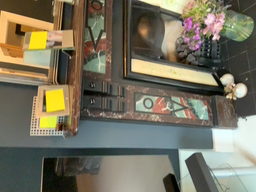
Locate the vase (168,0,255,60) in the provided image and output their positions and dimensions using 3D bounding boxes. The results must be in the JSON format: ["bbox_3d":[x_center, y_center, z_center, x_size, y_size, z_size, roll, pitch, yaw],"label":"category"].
[{"bbox_3d":[0.600,-0.540,1.520,0.340,0.470,0.370,-36,52,58],"label":"vase"}]

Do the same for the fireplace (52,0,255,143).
[{"bbox_3d":[0.180,-0.480,1.540,0.520,1.200,1.570,-29,58,60],"label":"fireplace"}]
